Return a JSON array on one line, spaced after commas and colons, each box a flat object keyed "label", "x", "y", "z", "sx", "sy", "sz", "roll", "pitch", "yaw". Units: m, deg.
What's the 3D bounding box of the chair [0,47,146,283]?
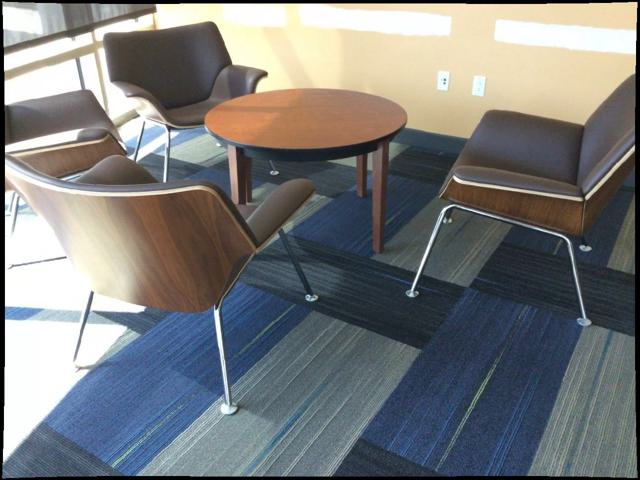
[{"label": "chair", "x": -1.307, "y": -0.391, "z": 2.690, "sx": 0.798, "sy": 0.761, "sz": 0.890, "roll": -9, "pitch": 31, "yaw": -15}]

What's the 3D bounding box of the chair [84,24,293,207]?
[{"label": "chair", "x": -0.748, "y": -0.782, "z": 3.400, "sx": 0.899, "sy": 0.741, "sz": 0.740, "roll": -20, "pitch": 35, "yaw": -30}]

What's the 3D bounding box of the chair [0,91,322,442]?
[{"label": "chair", "x": -0.529, "y": 0.010, "z": 1.930, "sx": 0.848, "sy": 0.751, "sz": 0.760, "roll": 10, "pitch": 32, "yaw": 18}]

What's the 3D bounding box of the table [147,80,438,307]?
[{"label": "table", "x": -0.090, "y": -0.311, "z": 2.790, "sx": 0.958, "sy": 0.581, "sz": 0.970, "roll": 17, "pitch": 34, "yaw": 28}]

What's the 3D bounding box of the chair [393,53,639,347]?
[{"label": "chair", "x": 0.858, "y": -0.241, "z": 2.320, "sx": 0.868, "sy": 0.761, "sz": 0.880, "roll": 11, "pitch": 32, "yaw": 20}]
